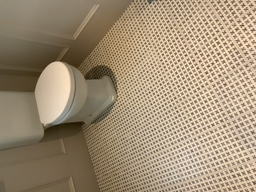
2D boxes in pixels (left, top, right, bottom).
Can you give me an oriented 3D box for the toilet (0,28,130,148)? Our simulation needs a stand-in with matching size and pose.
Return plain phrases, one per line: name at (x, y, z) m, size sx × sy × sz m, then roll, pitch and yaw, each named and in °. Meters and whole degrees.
toilet at (-0.530, 0.000, 1.480) m, size 0.670 × 0.750 × 0.420 m, roll -38°, pitch 65°, yaw 37°
